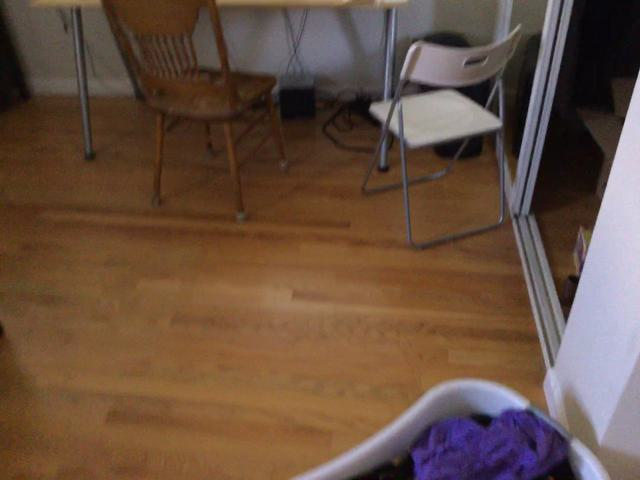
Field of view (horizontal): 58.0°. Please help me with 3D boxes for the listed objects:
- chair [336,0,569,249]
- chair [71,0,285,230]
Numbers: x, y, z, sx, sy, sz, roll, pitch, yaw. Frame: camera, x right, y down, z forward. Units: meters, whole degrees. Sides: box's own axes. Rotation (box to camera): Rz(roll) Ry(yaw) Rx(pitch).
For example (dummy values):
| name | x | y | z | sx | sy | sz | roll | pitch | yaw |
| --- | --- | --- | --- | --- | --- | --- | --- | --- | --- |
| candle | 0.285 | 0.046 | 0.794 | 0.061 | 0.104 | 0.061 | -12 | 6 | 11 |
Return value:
| name | x | y | z | sx | sy | sz | roll | pitch | yaw |
| --- | --- | --- | --- | --- | --- | --- | --- | --- | --- |
| chair | 0.450 | -0.500 | 2.250 | 0.570 | 0.760 | 0.600 | -14 | 35 | -18 |
| chair | -0.500 | -0.650 | 2.320 | 0.570 | 1.050 | 0.590 | 2 | 33 | 6 |
